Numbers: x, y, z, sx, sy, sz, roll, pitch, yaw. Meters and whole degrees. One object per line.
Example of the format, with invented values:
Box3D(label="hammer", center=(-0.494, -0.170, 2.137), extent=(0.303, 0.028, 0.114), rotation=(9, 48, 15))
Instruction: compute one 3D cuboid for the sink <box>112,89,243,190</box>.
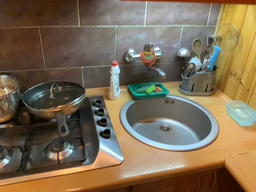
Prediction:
Box3D(label="sink", center=(0.180, 0.160, 1.000), extent=(0.440, 0.170, 0.430), rotation=(-5, 31, -14))

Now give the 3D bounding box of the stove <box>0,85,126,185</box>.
Box3D(label="stove", center=(-0.350, 0.110, 0.860), extent=(0.570, 0.030, 0.530), rotation=(-5, 31, -14))
